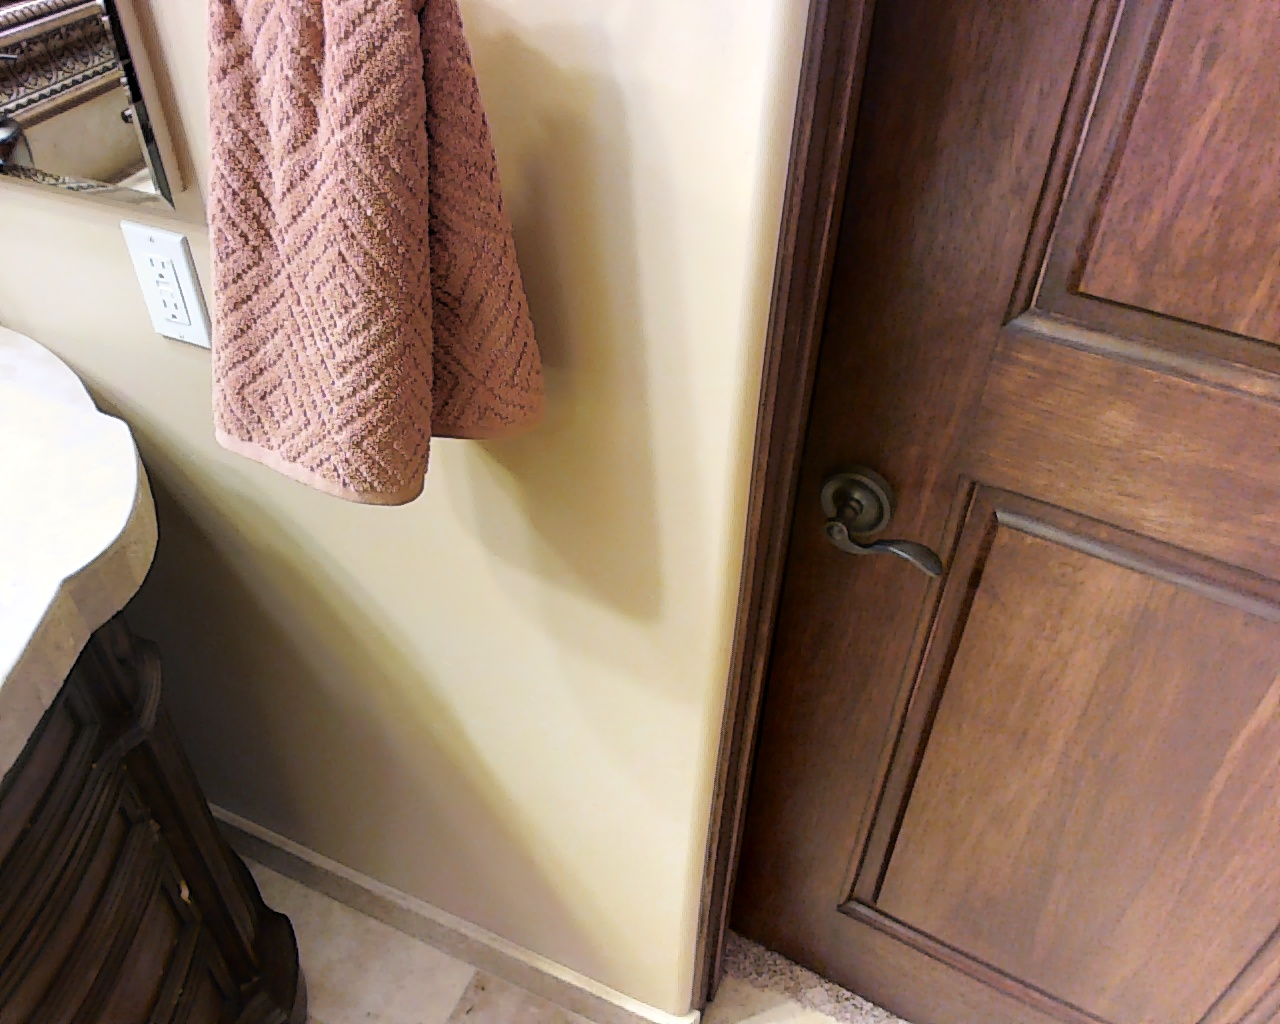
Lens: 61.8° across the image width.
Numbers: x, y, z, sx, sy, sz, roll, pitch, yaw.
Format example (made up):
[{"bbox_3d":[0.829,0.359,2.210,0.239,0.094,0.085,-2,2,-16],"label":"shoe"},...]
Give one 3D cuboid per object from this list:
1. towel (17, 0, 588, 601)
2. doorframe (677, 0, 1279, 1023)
[{"bbox_3d":[-0.190,-0.230,0.680,0.250,0.540,0.190,17,45,17],"label":"towel"},{"bbox_3d":[0.490,-0.120,0.640,0.810,2.429,0.210,17,45,17],"label":"doorframe"}]
